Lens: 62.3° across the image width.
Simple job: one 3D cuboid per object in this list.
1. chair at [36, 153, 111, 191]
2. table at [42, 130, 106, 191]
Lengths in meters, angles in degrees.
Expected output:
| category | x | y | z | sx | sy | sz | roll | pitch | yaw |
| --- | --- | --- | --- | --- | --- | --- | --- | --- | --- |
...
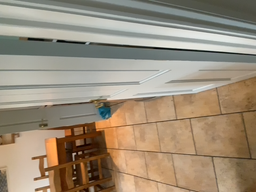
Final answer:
| category | x | y | z | sx | sy | sz | roll | pitch | yaw |
| --- | --- | --- | --- | --- | --- | --- | --- | --- | --- |
| chair | -0.880 | 1.260 | 3.420 | 0.570 | 1.000 | 0.450 | -17 | 79 | 57 |
| table | -0.950 | 1.550 | 3.760 | 0.910 | 0.770 | 1.710 | -21 | 76 | 56 |
